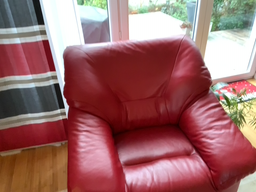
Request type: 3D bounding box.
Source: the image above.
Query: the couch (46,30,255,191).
[{"bbox_3d":[0.120,0.180,1.380,0.970,0.870,0.990,-8,33,-10],"label":"couch"}]
